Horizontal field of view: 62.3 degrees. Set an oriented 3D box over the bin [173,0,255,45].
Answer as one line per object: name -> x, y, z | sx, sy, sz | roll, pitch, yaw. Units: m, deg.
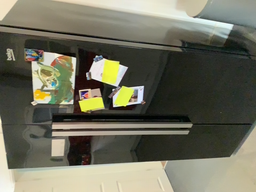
bin -> 0.740, -0.660, 1.570 | 0.420, 0.590, 0.360 | -112, 31, -50
